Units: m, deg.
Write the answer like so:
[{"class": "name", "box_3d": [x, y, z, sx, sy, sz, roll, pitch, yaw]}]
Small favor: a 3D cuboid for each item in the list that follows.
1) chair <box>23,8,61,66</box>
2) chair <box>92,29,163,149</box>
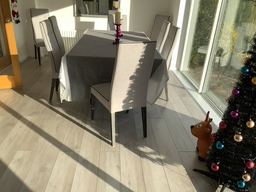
[{"class": "chair", "box_3d": [-1.790, -1.250, 4.440, 0.450, 1.030, 0.640, -15, 31, -35]}, {"class": "chair", "box_3d": [-0.060, -0.110, 2.230, 0.430, 1.050, 0.630, -10, 28, -27]}]
